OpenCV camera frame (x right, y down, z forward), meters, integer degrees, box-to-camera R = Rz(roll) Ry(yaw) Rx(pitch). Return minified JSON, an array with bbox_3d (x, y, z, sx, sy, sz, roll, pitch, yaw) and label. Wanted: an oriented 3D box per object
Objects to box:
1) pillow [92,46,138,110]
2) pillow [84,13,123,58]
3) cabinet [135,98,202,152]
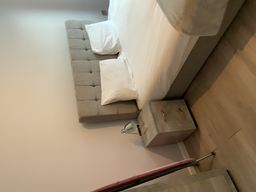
[{"bbox_3d":[-0.180,-0.250,2.710,0.190,0.440,0.780,79,177,-58],"label":"pillow"},{"bbox_3d":[-0.380,-0.930,3.190,0.130,0.470,0.700,76,180,-57],"label":"pillow"},{"bbox_3d":[0.440,0.340,2.480,0.450,0.540,0.400,110,150,-51],"label":"cabinet"}]
